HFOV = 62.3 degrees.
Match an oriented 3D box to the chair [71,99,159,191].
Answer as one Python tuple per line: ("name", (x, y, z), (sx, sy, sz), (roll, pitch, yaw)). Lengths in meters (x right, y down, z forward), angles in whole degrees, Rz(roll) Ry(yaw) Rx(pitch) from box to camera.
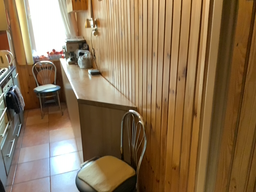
("chair", (-0.100, 0.520, 1.470), (0.460, 0.860, 0.410), (-7, 20, -17))

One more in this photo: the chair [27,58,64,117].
("chair", (-1.430, -0.170, 3.760), (0.460, 0.920, 0.440), (-7, 20, -16))
